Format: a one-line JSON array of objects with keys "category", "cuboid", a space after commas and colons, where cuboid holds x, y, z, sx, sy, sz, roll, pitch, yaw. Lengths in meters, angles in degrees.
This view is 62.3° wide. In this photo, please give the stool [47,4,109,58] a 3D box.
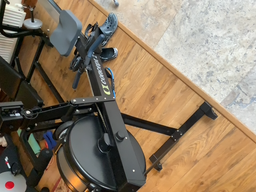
[{"category": "stool", "cuboid": [-0.420, -0.540, 1.810, 0.270, 0.350, 0.280, 47, 118, 25]}]

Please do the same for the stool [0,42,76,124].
[{"category": "stool", "cuboid": [-1.050, -0.170, 2.130, 0.880, 0.630, 0.260, 47, 118, 25]}]
